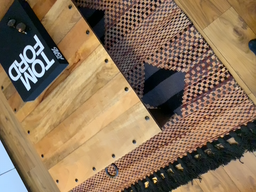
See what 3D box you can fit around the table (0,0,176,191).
[{"bbox_3d":[-0.420,-0.230,1.150,0.660,0.330,1.310,-37,82,23],"label":"table"}]
